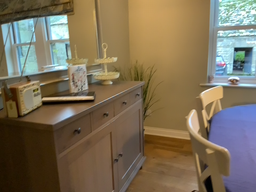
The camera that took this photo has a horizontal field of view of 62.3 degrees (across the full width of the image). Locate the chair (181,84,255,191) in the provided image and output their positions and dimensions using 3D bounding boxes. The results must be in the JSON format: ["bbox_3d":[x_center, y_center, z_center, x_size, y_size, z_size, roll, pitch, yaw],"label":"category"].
[{"bbox_3d":[0.710,0.410,1.480,0.500,0.890,0.430,9,17,40],"label":"chair"}]

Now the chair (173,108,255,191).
[{"bbox_3d":[0.490,0.540,0.940,0.500,0.880,0.420,-2,13,1],"label":"chair"}]
